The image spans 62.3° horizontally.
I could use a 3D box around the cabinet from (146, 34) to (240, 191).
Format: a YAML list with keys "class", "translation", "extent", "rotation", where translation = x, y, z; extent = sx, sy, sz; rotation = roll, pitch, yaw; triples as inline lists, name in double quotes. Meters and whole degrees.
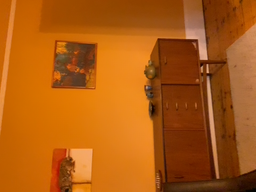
- class: "cabinet"
  translation: [0.660, 0.400, 2.390]
  extent: [0.490, 0.790, 2.120]
  rotation: [109, 161, -76]
